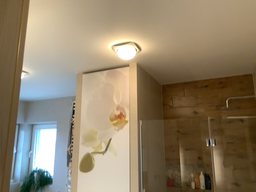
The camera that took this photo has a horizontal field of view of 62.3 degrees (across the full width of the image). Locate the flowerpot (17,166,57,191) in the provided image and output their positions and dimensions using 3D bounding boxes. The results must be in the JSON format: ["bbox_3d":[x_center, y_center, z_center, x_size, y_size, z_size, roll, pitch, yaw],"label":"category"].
[{"bbox_3d":[-1.730,1.580,4.020,0.650,0.420,0.330,-6,-14,28],"label":"flowerpot"}]

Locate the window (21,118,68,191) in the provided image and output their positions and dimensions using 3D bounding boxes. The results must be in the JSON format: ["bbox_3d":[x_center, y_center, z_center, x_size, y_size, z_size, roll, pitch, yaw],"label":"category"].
[{"bbox_3d":[-1.660,1.130,4.210,0.960,1.330,0.160,-6,-14,27],"label":"window"}]
